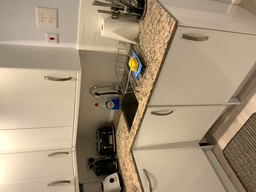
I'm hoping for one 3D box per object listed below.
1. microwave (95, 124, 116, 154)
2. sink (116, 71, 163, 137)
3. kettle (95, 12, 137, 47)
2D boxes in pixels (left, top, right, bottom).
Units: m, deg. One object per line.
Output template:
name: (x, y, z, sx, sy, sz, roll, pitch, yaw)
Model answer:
microwave: (-0.260, 0.480, 2.370, 0.210, 0.170, 0.290, 131, 136, -62)
sink: (0.080, 0.070, 2.010, 0.460, 0.230, 0.410, -109, 27, -44)
kettle: (-0.100, -0.510, 1.640, 0.150, 0.270, 0.190, -108, 26, -42)
